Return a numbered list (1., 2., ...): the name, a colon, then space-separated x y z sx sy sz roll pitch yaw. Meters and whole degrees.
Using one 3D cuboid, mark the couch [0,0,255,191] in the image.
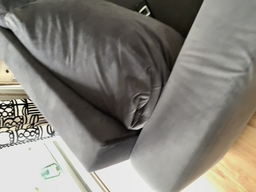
1. couch: 0.060 -0.330 1.020 1.210 0.760 1.030 40 117 33
